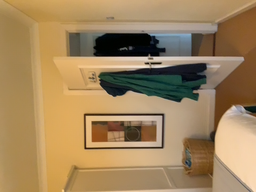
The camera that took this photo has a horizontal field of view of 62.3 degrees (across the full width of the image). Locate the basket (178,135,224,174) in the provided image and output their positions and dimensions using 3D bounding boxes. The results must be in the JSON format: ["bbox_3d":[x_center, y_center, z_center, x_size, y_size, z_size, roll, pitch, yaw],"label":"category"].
[{"bbox_3d":[0.950,0.760,2.820,0.400,0.430,0.370,-110,20,-80],"label":"basket"}]

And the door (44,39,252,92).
[{"bbox_3d":[0.200,-0.310,2.560,0.920,2.070,0.180,98,171,-68],"label":"door"}]

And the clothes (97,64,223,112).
[{"bbox_3d":[0.320,-0.070,2.560,0.680,1.320,0.290,97,172,-64],"label":"clothes"}]
